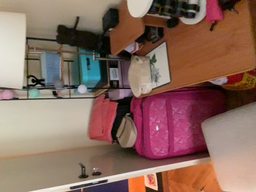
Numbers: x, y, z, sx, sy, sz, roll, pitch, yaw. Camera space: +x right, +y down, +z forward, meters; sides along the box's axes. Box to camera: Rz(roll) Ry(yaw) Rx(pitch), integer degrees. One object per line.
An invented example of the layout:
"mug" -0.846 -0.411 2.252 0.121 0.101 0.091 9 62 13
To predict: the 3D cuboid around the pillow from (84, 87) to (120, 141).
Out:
"pillow" -0.250 0.170 1.920 0.360 0.190 0.440 -21 72 62
